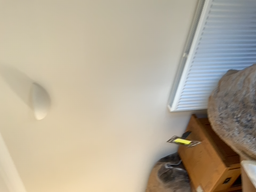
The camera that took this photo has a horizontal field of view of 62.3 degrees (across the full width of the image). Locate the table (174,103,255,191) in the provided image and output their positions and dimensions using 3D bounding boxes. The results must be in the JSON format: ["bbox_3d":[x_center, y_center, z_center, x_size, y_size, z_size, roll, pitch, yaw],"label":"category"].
[{"bbox_3d":[0.890,0.490,1.990,0.600,0.610,0.530,-110,20,-47],"label":"table"}]
